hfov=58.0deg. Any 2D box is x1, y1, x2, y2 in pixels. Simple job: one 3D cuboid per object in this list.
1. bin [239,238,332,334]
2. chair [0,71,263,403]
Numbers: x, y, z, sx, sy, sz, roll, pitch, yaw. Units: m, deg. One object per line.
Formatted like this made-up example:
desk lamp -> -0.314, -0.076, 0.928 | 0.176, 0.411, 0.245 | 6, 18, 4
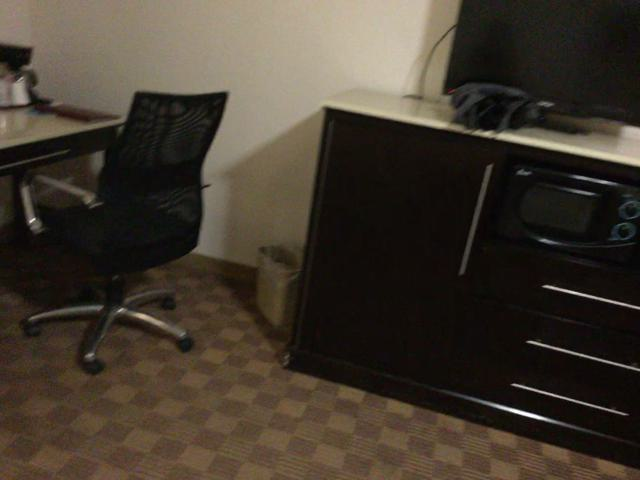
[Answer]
bin -> -0.170, 0.200, 2.690 | 0.270, 0.300, 0.370 | -5, 20, -30
chair -> -0.730, -0.080, 2.250 | 0.720, 1.030, 0.620 | 16, 20, 29
